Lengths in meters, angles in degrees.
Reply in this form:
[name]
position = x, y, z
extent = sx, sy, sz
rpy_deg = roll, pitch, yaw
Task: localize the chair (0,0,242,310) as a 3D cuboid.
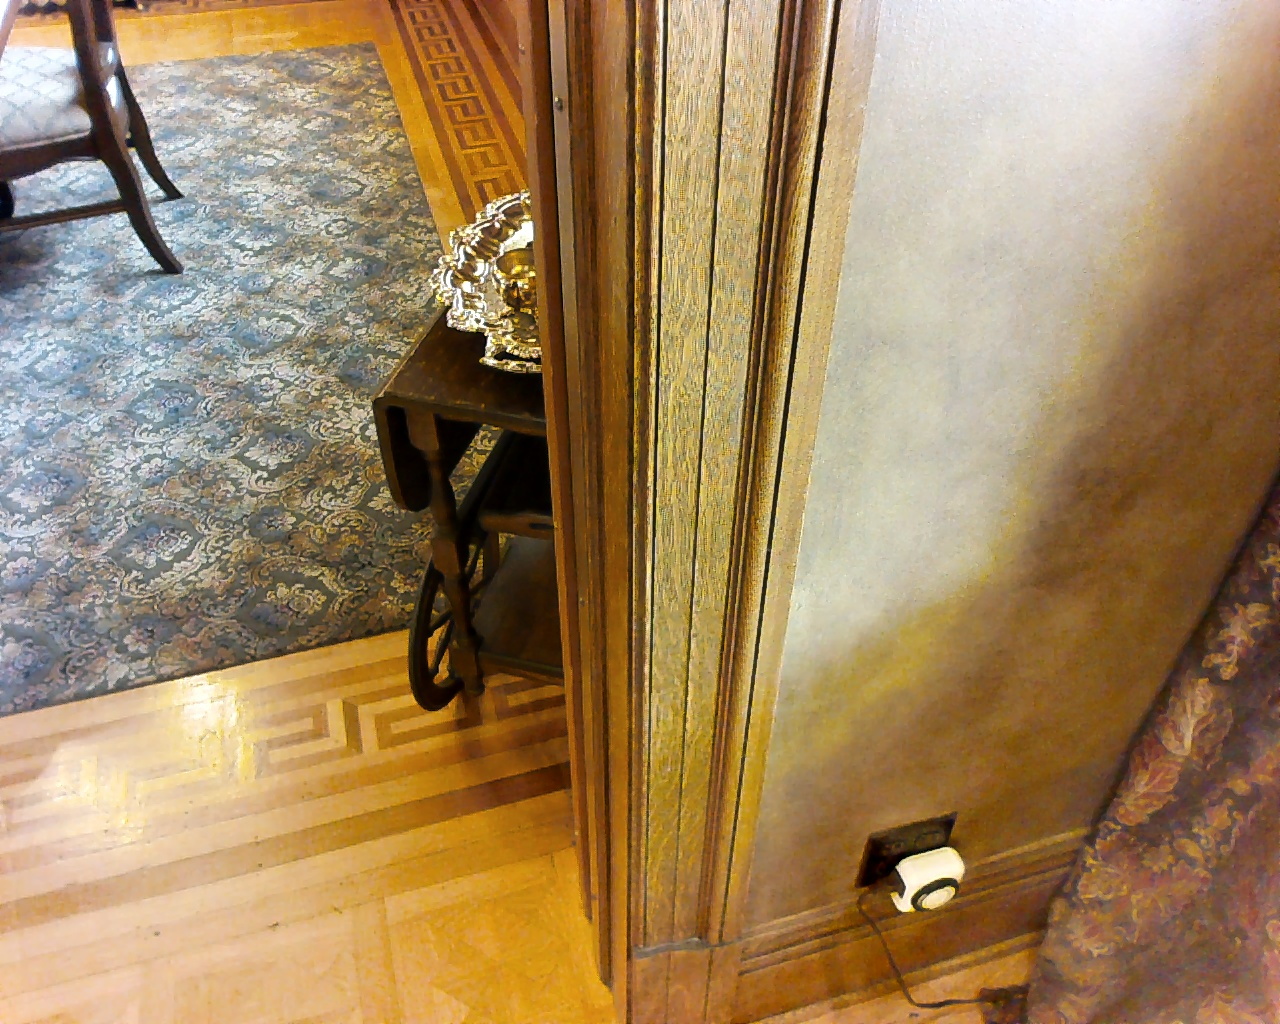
[chair]
position = -1.550, -1.170, 2.670
extent = 0.820, 1.100, 0.650
rpy_deg = -11, 44, -12
